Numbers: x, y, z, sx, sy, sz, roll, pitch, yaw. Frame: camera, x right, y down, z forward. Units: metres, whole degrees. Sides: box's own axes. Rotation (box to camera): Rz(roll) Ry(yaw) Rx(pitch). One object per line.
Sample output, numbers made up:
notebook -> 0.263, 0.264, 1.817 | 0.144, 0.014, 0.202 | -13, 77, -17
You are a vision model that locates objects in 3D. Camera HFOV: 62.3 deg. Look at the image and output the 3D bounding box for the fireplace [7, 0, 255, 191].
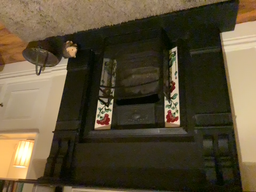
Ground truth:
fireplace -> 0.060, 0.060, 1.750 | 1.690, 1.350, 0.540 | -5, 155, 19
